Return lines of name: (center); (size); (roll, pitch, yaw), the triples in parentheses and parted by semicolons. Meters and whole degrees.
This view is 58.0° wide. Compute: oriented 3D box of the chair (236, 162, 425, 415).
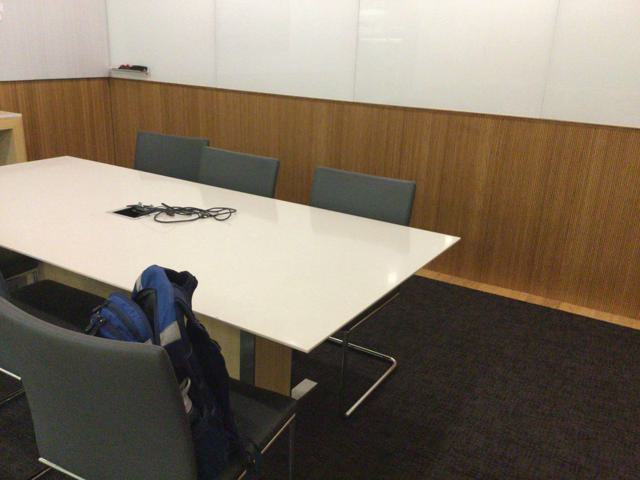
chair: (0.040, 0.150, 2.360); (0.500, 0.780, 0.580); (15, 23, 29)

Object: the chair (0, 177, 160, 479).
chair: (-0.960, 0.260, 1.940); (0.570, 0.770, 0.540); (15, 23, 29)

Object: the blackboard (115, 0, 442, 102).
blackboard: (-0.470, -1.370, 4.010); (2.670, 0.530, 0.080); (15, 23, 29)

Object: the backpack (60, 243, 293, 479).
backpack: (-0.310, 0.300, 1.340); (0.320, 0.440, 0.380); (15, 23, 29)

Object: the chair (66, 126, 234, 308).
chair: (-0.870, -0.160, 3.100); (0.560, 0.760, 0.620); (12, 21, 22)

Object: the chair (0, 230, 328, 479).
chair: (-0.370, 0.480, 1.460); (0.500, 0.800, 0.600); (15, 23, 29)

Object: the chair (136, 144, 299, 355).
chair: (-0.460, 0.010, 2.690); (0.500, 0.780, 0.510); (13, 22, 26)
